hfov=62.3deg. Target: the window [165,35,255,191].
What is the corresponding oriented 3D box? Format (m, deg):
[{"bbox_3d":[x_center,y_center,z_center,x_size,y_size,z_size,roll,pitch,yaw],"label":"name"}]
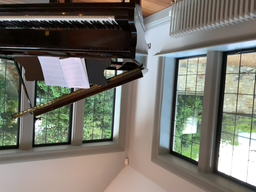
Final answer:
[{"bbox_3d":[1.320,0.160,2.230,0.120,1.580,2.430,2,-177,-33],"label":"window"}]
